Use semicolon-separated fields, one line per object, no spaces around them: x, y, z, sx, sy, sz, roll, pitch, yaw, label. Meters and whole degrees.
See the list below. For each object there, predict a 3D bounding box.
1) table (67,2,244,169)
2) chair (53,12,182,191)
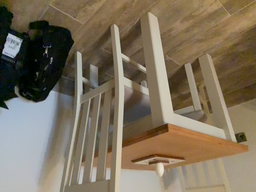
0.150;0.060;1.550;0.820;0.760;0.810;19;145;-38;table
-0.070;0.100;1.330;0.450;0.990;0.520;-24;147;34;chair
